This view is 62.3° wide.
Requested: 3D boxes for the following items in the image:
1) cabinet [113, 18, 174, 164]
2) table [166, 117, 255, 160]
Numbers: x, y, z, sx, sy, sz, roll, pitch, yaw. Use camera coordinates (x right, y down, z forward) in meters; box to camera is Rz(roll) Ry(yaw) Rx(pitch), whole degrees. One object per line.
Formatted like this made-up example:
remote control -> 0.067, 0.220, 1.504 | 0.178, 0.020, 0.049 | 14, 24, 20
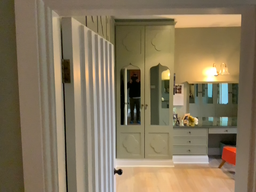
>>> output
cabinet -> 0.280, -0.080, 4.140 | 1.050, 2.630, 0.650 | -1, 6, 0
table -> 1.840, 0.840, 4.300 | 2.040, 0.730, 0.490 | -1, 6, 0
